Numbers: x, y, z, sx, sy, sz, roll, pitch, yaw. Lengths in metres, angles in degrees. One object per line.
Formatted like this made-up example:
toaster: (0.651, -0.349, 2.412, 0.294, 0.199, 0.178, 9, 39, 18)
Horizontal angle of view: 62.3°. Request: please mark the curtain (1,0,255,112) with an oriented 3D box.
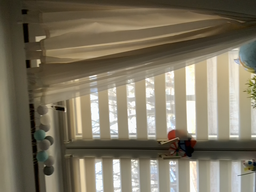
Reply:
curtain: (0.200, -0.260, 1.060, 0.150, 1.680, 0.650, -35, -57, -80)
